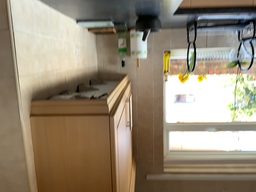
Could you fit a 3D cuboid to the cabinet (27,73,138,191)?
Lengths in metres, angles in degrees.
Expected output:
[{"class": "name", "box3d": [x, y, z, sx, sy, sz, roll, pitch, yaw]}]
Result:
[{"class": "cabinet", "box3d": [-0.130, 0.350, 1.430, 0.370, 0.900, 1.240, -1, -169, 3]}]
